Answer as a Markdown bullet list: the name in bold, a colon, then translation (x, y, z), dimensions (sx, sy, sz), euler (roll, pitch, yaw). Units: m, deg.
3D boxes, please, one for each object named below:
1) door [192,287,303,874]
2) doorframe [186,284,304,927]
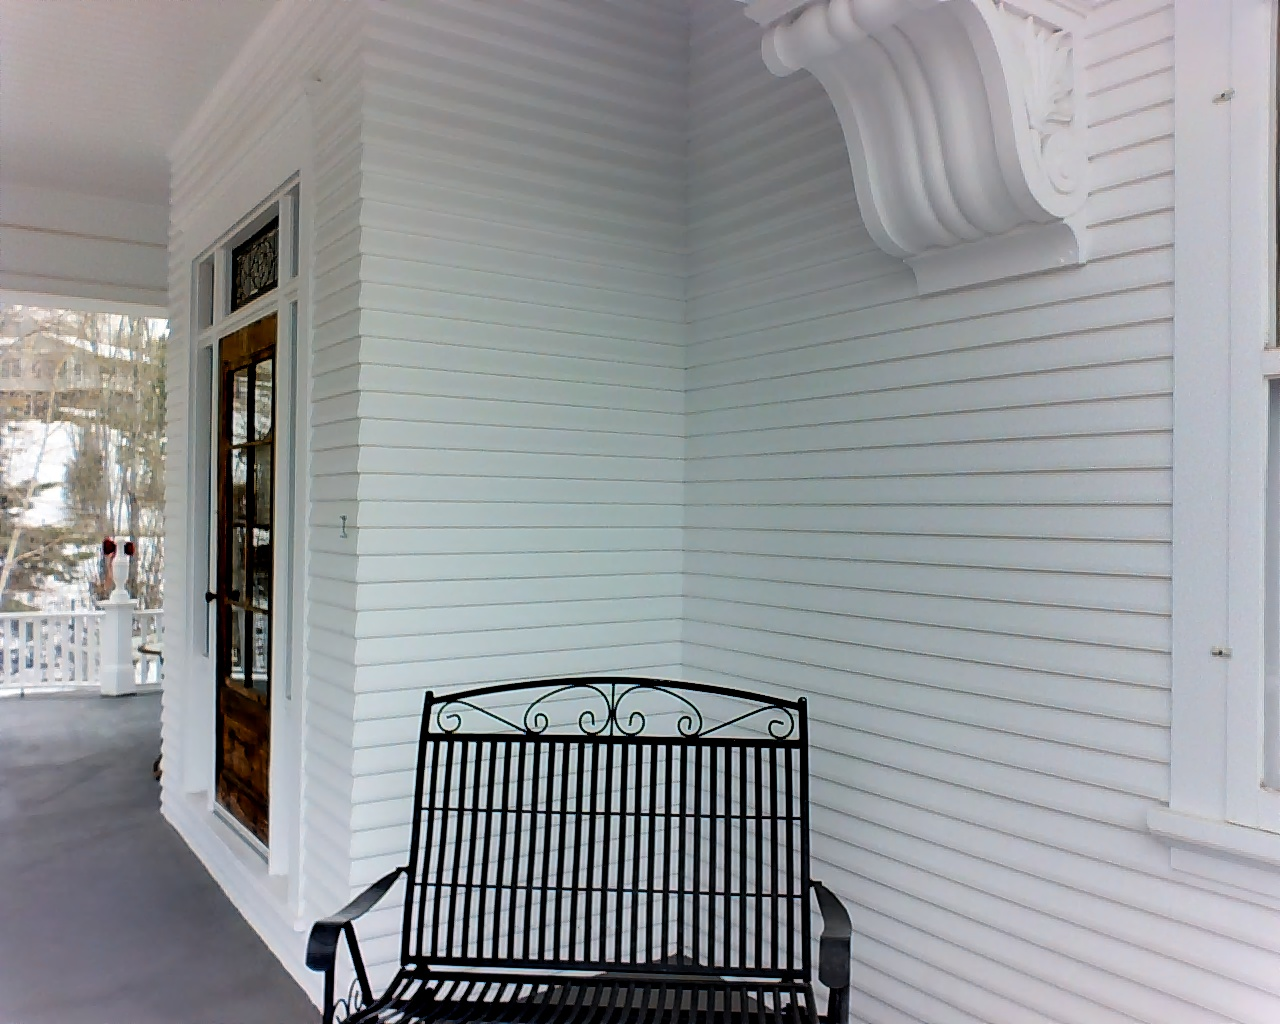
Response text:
- **door**: translation (-1.579, 0.240, 4.280), dimensions (0.150, 2.081, 1.010), euler (0, 0, -34)
- **doorframe**: translation (-1.569, 0.320, 4.220), dimensions (0.140, 2.221, 1.120), euler (0, 0, -34)
